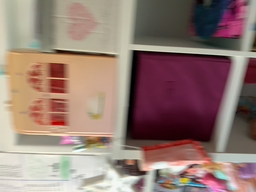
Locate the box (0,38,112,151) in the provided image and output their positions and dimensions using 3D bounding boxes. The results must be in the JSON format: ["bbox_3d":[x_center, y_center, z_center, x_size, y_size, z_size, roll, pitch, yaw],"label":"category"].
[{"bbox_3d":[-0.260,-0.040,0.790,0.410,0.380,0.290,-105,19,-70],"label":"box"}]
